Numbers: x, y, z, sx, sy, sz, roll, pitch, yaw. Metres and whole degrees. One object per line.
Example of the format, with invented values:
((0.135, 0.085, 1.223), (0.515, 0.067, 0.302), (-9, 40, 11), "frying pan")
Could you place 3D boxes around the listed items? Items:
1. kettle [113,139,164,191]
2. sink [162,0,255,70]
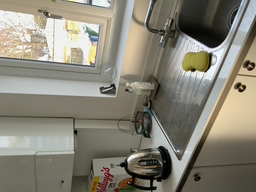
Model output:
((0.050, 0.390, 1.200), (0.130, 0.200, 0.270), (-115, 34, -54), "kettle")
((0.410, -0.450, 0.950), (0.520, 0.200, 0.460), (-114, 33, -54), "sink")
